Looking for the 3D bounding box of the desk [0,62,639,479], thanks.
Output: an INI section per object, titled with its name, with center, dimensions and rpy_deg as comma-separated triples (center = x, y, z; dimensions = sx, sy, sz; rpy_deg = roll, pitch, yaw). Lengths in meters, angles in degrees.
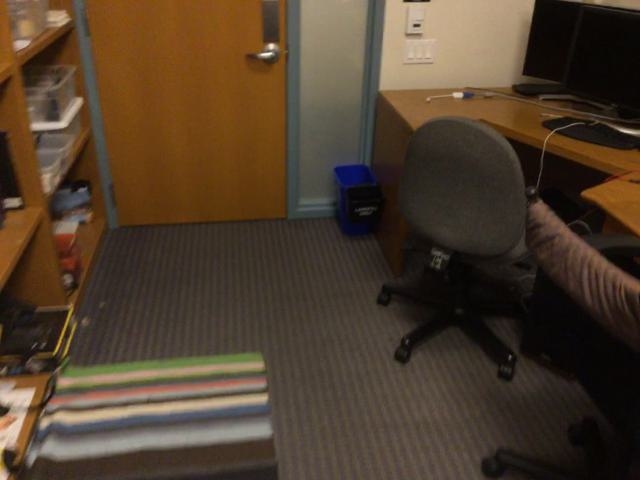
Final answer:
[desk]
center = 0.390, 0.780, 0.660
dimensions = 2.900, 0.860, 5.260
rpy_deg = -3, 28, -7
